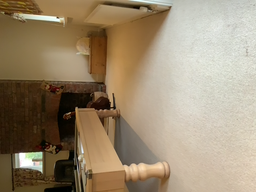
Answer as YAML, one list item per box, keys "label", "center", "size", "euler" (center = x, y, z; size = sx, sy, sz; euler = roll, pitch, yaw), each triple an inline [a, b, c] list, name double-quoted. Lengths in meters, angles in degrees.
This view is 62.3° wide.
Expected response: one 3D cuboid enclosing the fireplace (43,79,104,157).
- label: "fireplace"
  center: [-1.380, 0.490, 5.380]
  size: [0.770, 1.350, 1.740]
  euler: [-148, 59, -70]
